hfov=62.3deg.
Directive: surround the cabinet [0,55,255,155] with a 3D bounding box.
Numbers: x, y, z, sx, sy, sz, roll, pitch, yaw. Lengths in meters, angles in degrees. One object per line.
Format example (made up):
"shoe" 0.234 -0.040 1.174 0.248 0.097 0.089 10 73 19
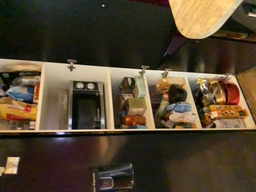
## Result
"cabinet" -0.080 0.100 1.610 0.510 1.920 0.480 118 149 -58
